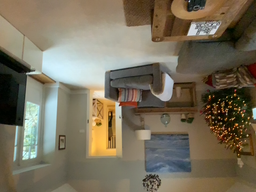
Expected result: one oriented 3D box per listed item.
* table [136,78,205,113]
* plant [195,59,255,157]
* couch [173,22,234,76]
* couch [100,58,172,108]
[{"bbox_3d":[1.130,0.000,5.920,1.790,0.860,0.440,-2,169,4],"label":"table"},{"bbox_3d":[2.380,0.340,4.960,1.100,1.980,0.990,9,166,-41],"label":"plant"},{"bbox_3d":[1.130,-0.690,3.410,0.650,0.420,1.080,-2,169,4],"label":"couch"},{"bbox_3d":[0.210,-0.220,4.790,1.350,0.800,1.000,-5,168,20],"label":"couch"}]
